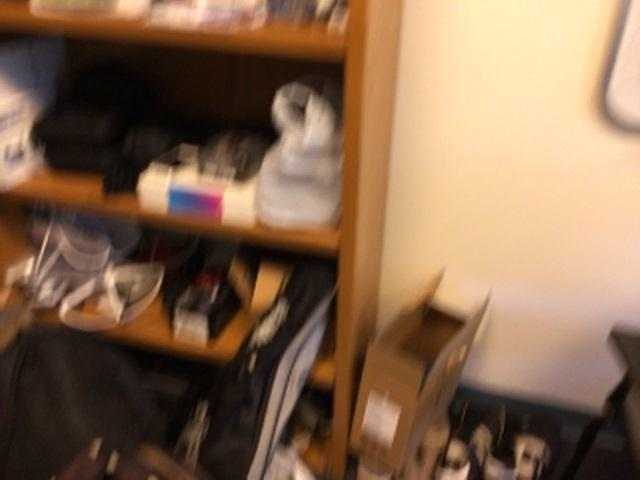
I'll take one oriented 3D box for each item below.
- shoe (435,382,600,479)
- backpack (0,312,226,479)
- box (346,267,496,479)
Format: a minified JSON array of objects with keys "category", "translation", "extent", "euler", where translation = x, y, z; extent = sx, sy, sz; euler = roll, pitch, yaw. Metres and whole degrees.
[{"category":"shoe","translation":[0.460,0.530,1.370],"extent":[0.340,0.120,0.320],"euler":[11,31,13]},{"category":"backpack","translation":[-0.500,0.450,1.230],"extent":[0.430,0.490,0.270],"euler":[16,-8,-25]},{"category":"box","translation":[0.230,0.320,1.330],"extent":[0.180,0.380,0.320],"euler":[20,34,26]}]
